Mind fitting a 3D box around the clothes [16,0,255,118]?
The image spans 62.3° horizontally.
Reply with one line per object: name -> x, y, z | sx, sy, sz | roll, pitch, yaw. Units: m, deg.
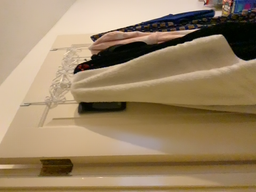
clothes -> 0.390, -0.240, 0.890 | 0.690, 1.380, 0.200 | -89, -4, -53

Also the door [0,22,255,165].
door -> 0.560, -0.120, 0.920 | 0.840, 2.010, 0.030 | -90, -3, -47
